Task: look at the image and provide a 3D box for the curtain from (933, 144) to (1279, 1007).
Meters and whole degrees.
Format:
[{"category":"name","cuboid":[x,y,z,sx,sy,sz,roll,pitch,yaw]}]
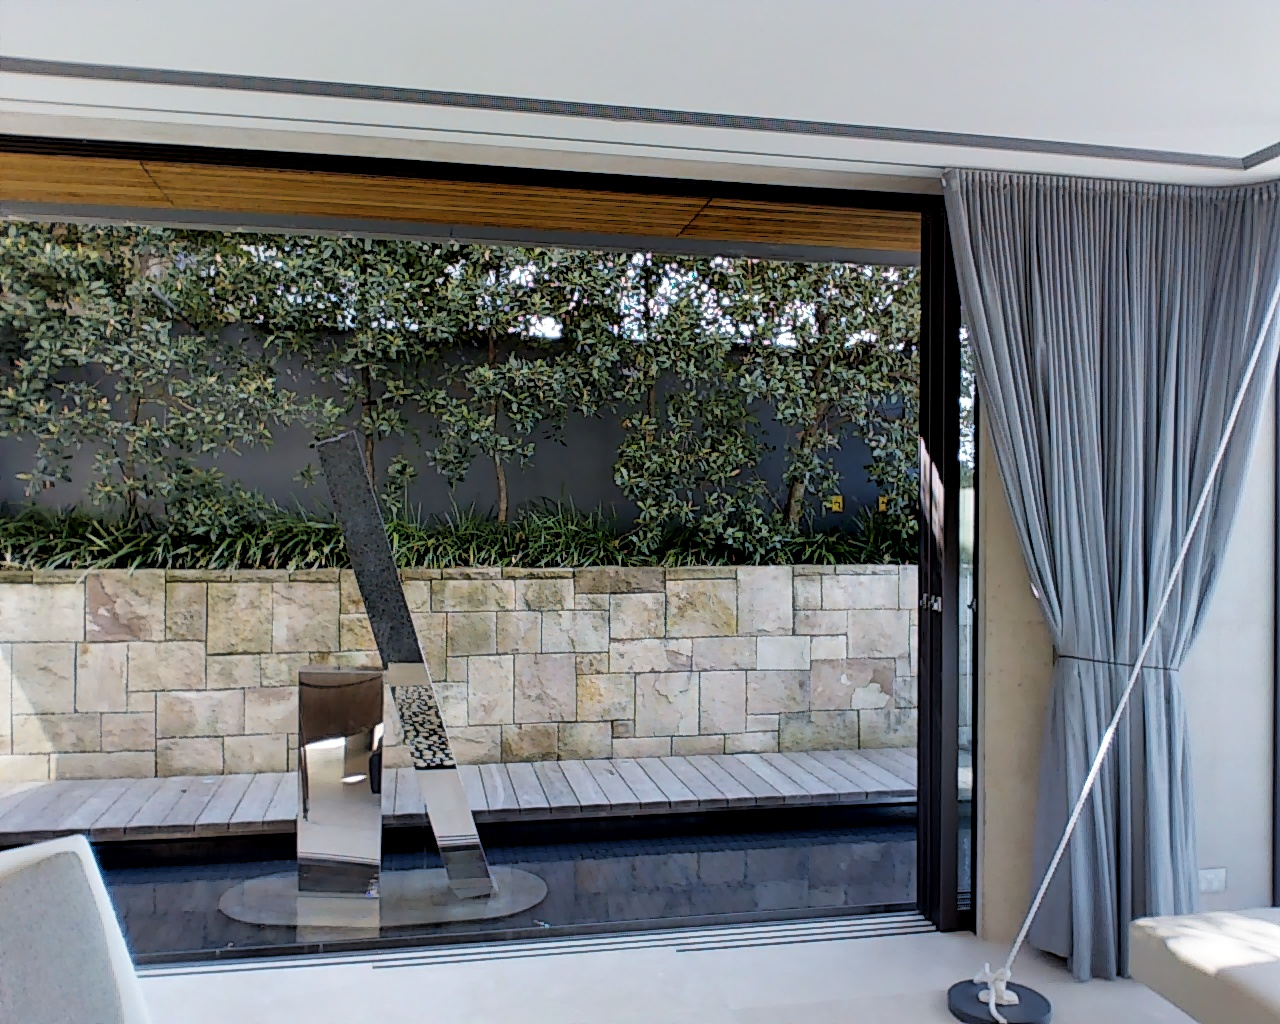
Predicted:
[{"category":"curtain","cuboid":[1.640,0.200,3.620,1.170,2.661,0.410,1,0,-12]}]
